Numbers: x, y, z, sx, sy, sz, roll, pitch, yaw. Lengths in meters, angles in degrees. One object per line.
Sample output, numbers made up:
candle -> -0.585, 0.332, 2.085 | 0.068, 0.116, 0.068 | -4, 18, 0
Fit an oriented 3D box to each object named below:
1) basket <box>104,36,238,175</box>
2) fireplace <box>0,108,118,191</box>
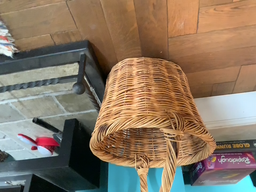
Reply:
basket -> 0.120, 0.050, 0.790 | 0.340, 0.360, 0.350 | -5, 144, 4
fireplace -> -0.700, 0.600, 1.130 | 1.190, 0.740, 0.530 | -9, 143, 10
